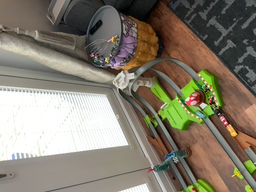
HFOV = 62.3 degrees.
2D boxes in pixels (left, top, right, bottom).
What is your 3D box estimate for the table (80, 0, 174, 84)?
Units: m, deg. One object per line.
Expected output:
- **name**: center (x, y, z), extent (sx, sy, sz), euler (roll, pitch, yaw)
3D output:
- **table**: center (-0.020, -0.380, 1.560), extent (0.380, 0.440, 0.390), euler (-51, 53, 32)
